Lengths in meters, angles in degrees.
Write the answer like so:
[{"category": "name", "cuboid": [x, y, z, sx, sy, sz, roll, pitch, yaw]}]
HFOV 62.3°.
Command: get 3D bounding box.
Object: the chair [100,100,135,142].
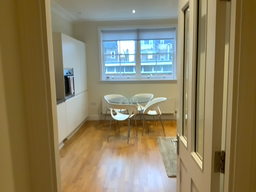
[{"category": "chair", "cuboid": [-0.220, 0.510, 4.570, 0.480, 0.750, 0.550, 6, 10, 43]}]
